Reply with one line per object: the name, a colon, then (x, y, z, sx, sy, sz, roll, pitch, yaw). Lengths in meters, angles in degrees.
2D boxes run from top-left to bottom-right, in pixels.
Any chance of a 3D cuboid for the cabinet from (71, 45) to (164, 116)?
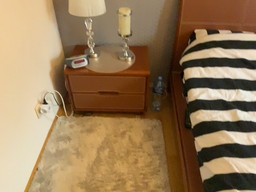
cabinet: (-0.070, -0.130, 1.730, 0.630, 0.410, 0.420, 0, 41, 0)
